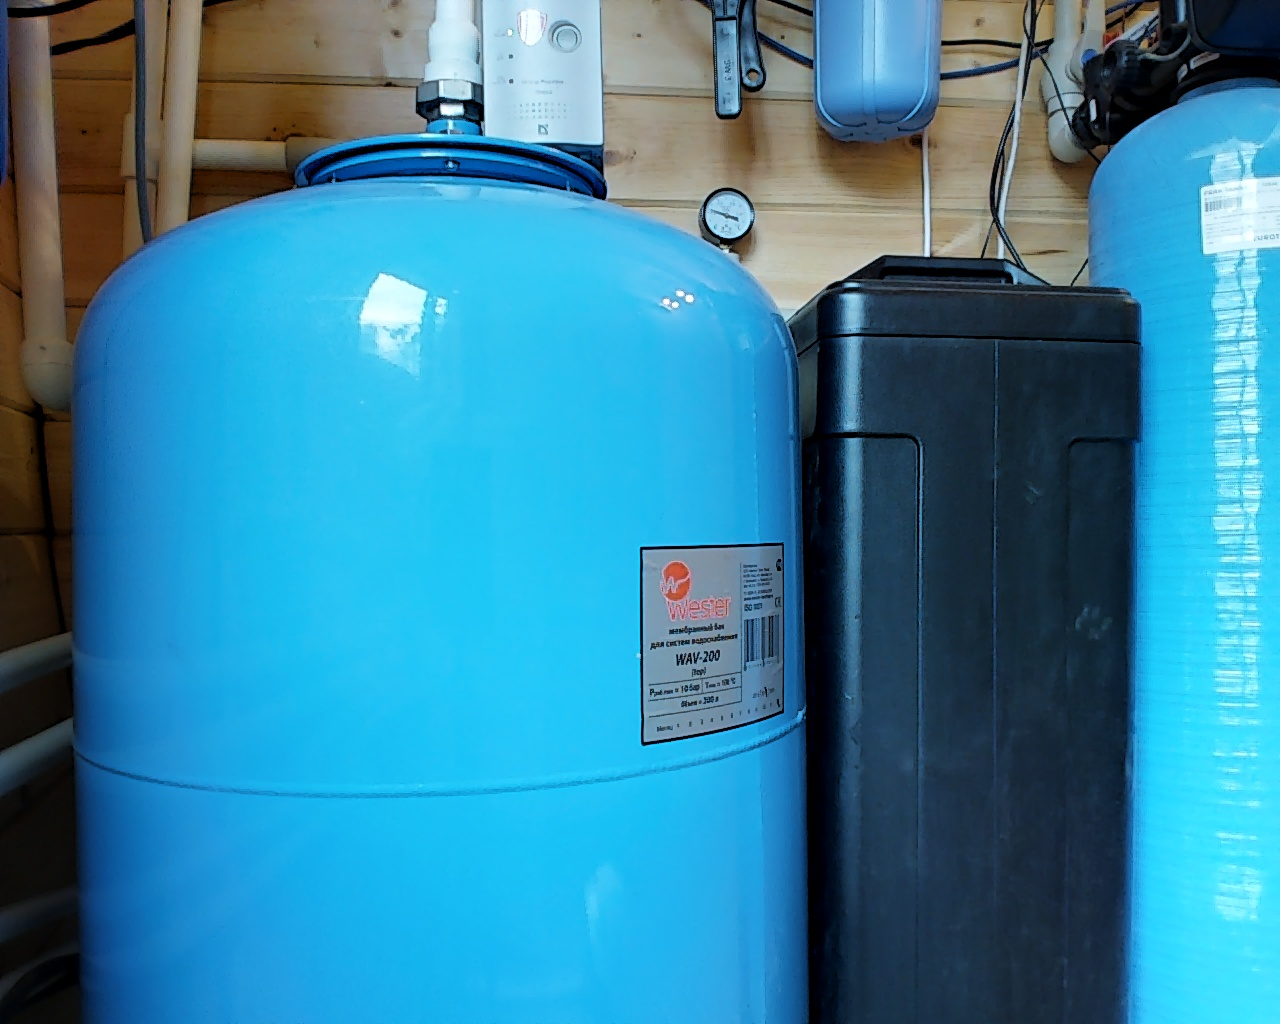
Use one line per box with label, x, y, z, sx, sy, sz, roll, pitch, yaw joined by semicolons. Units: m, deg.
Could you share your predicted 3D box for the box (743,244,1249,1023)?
box;0.290;0.260;0.990;0.320;0.910;0.360;1;-1;-5
